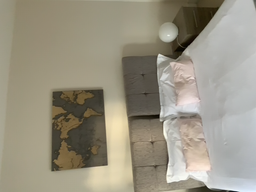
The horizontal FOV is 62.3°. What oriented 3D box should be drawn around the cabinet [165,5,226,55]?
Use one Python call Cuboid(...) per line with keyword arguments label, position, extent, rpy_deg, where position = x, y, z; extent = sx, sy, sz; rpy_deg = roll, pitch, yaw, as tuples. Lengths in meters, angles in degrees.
Cuboid(label="cabinet", position=(0.850, -0.840, 2.770), extent=(0.500, 0.530, 0.410), rpy_deg=(116, 149, -71))
